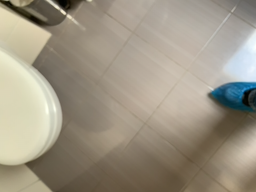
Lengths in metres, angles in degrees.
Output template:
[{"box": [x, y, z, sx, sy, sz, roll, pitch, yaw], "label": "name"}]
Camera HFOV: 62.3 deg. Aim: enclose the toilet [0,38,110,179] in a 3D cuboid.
[{"box": [-0.430, 0.020, 0.980, 0.500, 0.450, 0.310, 36, 96, 10], "label": "toilet"}]
